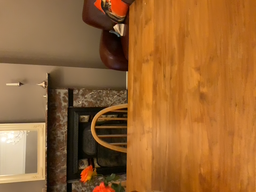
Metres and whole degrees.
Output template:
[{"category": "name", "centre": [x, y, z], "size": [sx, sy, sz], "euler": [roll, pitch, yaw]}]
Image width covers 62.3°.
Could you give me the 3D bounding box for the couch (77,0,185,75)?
[{"category": "couch", "centre": [-0.080, -0.910, 2.410], "size": [0.960, 0.800, 0.920], "euler": [111, 149, -43]}]
